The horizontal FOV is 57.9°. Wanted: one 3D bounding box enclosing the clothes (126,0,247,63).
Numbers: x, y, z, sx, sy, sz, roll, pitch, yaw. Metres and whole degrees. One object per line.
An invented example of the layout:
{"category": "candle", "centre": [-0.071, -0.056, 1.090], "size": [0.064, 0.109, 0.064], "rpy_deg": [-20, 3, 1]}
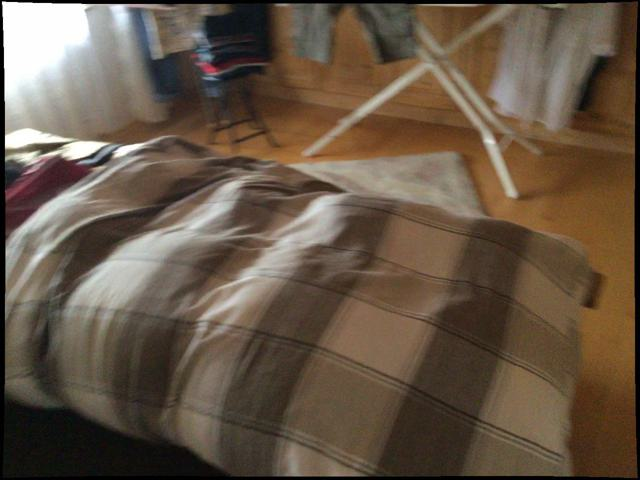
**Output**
{"category": "clothes", "centre": [-0.719, -1.261, 3.040], "size": [0.540, 0.460, 0.230], "rpy_deg": [-23, 40, -18]}

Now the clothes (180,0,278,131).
{"category": "clothes", "centre": [-0.460, -0.941, 2.920], "size": [0.320, 0.610, 0.370], "rpy_deg": [-16, 39, -11]}

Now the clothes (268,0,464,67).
{"category": "clothes", "centre": [0.220, -1.061, 2.590], "size": [0.660, 0.280, 0.600], "rpy_deg": [17, 44, 28]}
